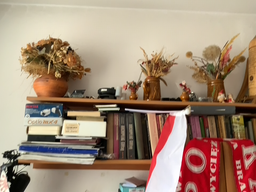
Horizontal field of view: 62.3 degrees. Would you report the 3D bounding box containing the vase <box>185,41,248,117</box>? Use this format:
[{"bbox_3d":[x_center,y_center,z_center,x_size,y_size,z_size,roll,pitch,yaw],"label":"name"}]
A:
[{"bbox_3d":[0.450,-0.080,1.130,0.210,0.350,0.210,2,-15,-3],"label":"vase"}]

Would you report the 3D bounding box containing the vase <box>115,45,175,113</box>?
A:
[{"bbox_3d":[0.090,-0.080,1.100,0.280,0.300,0.170,-2,-15,9],"label":"vase"}]

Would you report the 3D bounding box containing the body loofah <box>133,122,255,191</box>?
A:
[{"bbox_3d":[0.320,0.480,0.910,0.600,0.690,0.290,0,-15,2],"label":"body loofah"}]

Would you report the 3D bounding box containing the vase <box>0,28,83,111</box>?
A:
[{"bbox_3d":[-0.420,-0.120,1.040,0.330,0.350,0.210,0,-15,1],"label":"vase"}]
